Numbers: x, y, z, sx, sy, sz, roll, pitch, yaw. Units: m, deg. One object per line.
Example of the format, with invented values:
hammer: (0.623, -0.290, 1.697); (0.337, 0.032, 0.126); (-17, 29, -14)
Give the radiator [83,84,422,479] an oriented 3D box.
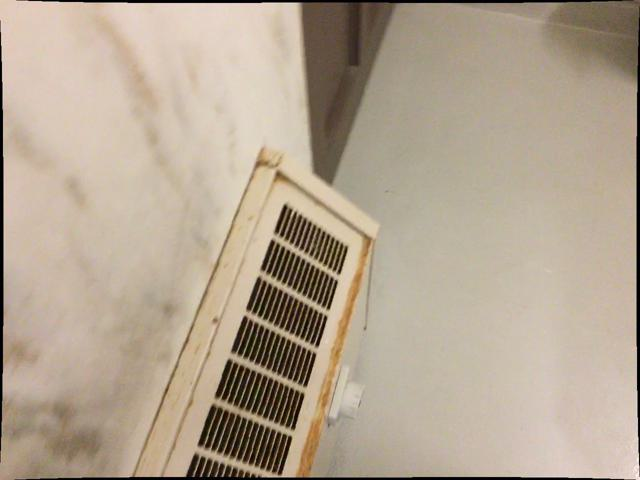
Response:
radiator: (-0.070, 0.250, 0.820); (0.200, 0.540, 0.720); (15, 63, 10)
